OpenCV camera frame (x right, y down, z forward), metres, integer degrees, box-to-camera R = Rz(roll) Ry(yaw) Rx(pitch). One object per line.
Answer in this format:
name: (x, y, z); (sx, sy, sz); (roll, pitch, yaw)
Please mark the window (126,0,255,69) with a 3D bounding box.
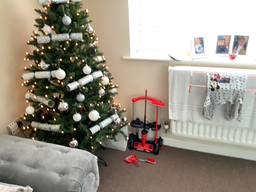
window: (0.870, -0.840, 1.660); (1.840, 1.260, 0.060); (6, 26, 16)
